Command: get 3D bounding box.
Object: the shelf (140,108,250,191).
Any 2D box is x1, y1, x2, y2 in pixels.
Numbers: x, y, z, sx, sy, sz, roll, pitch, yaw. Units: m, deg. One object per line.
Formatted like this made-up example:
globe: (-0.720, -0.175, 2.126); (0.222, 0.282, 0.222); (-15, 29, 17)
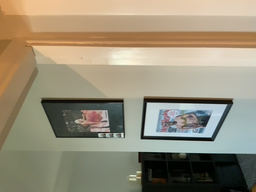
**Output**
shelf: (0.940, 0.970, 3.520); (1.610, 1.450, 0.450); (-88, -2, -45)
